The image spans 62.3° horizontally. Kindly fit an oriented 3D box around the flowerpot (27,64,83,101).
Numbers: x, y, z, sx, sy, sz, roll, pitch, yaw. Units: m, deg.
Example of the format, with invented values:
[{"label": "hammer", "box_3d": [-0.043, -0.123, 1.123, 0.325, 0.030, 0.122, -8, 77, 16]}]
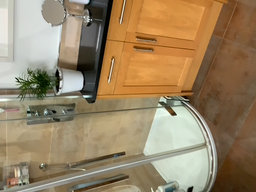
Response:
[{"label": "flowerpot", "box_3d": [-0.520, -0.100, 1.500, 0.210, 0.320, 0.180, 42, 126, 48]}]
